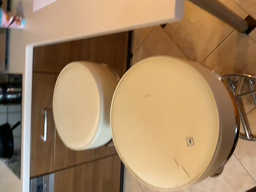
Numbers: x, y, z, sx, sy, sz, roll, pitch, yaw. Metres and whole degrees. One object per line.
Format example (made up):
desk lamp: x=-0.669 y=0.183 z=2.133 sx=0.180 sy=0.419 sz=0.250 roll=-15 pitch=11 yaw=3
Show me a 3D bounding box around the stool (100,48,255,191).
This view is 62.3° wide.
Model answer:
stool: x=0.350 y=0.050 z=0.850 sx=0.360 sy=0.850 sz=0.340 roll=10 pitch=97 yaw=44
